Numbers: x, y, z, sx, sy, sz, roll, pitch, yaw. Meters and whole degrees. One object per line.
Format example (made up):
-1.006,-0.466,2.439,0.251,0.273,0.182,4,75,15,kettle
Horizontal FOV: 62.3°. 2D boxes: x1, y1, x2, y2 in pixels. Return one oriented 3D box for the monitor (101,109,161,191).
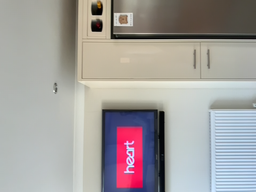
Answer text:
0.030,0.620,2.240,0.050,0.630,0.970,115,155,-87,monitor
